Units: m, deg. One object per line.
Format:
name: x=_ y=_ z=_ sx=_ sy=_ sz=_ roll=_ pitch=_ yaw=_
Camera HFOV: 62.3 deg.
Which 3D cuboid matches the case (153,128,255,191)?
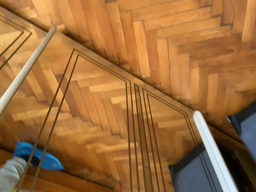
case: x=0.480 y=0.620 z=1.280 sx=0.390 sy=0.610 sz=0.440 roll=27 pitch=121 yaw=-21
